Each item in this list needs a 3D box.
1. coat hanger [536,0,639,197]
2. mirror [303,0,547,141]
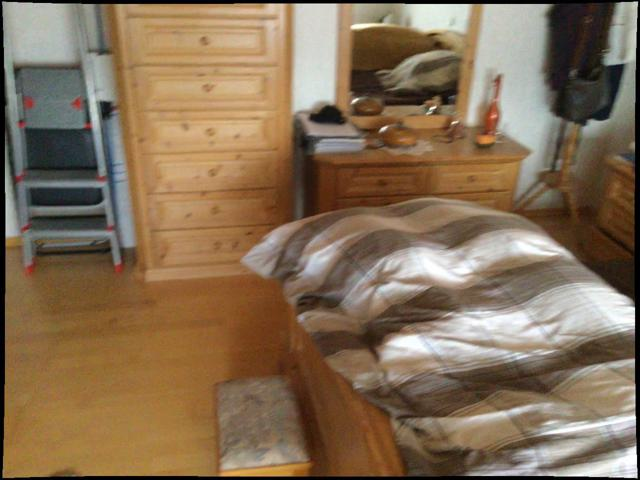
[{"bbox_3d":[1.459,-0.991,2.770,0.340,1.501,0.440,-4,30,-10],"label":"coat hanger"},{"bbox_3d":[0.480,-1.011,2.820,1.059,0.911,0.410,-4,30,-10],"label":"mirror"}]
